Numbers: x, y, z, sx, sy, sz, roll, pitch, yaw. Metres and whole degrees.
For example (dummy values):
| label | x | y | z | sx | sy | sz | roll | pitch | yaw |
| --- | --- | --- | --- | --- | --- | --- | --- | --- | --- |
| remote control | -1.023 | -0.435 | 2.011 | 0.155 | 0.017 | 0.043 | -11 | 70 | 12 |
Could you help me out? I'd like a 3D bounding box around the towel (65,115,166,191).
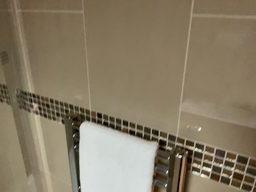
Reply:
| label | x | y | z | sx | sy | sz | roll | pitch | yaw |
| --- | --- | --- | --- | --- | --- | --- | --- | --- | --- |
| towel | -0.050 | 0.340 | 0.670 | 0.290 | 0.510 | 0.080 | 12 | 21 | 30 |
